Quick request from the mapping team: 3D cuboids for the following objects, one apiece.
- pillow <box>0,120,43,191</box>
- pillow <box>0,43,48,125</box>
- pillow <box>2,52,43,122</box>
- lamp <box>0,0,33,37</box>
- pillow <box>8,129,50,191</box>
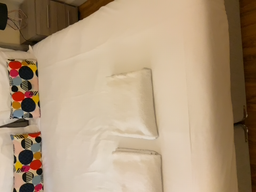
[{"bbox_3d":[-1.110,0.670,2.020,0.230,0.540,0.830,170,98,-65],"label":"pillow"},{"bbox_3d":[-1.120,-0.110,2.070,0.220,0.570,0.740,2,93,52],"label":"pillow"},{"bbox_3d":[-0.990,-0.080,2.000,0.160,0.310,0.630,169,99,-77],"label":"pillow"},{"bbox_3d":[-1.170,-0.760,1.990,0.290,0.410,0.270,-4,89,45],"label":"lamp"},{"bbox_3d":[-0.920,0.630,1.990,0.190,0.330,0.610,161,107,-70],"label":"pillow"}]
